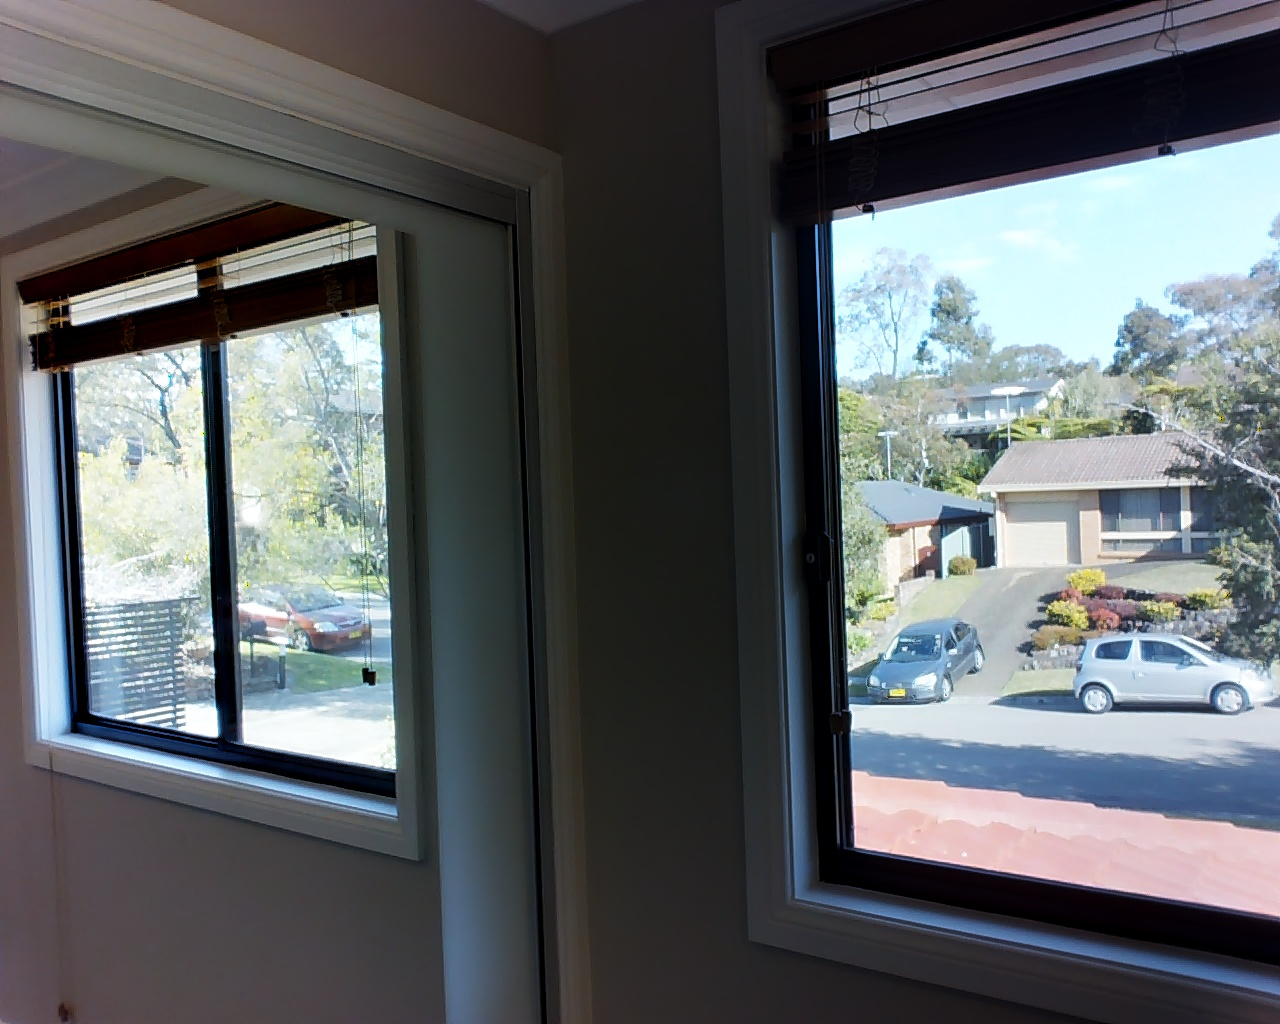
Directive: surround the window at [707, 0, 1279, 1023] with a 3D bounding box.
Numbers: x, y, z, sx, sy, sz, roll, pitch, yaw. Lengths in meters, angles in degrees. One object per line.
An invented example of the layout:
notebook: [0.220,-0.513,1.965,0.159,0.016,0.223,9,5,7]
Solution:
window: [0.840,-0.070,1.160,1.620,1.480,0.180,-1,1,35]
